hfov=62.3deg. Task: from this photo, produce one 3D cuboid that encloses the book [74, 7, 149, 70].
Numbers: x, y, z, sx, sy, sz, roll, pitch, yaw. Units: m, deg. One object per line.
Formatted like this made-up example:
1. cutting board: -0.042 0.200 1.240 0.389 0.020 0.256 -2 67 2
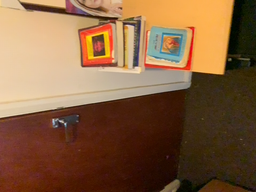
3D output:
1. book: -0.070 -0.200 0.750 0.250 0.120 0.180 18 109 42
